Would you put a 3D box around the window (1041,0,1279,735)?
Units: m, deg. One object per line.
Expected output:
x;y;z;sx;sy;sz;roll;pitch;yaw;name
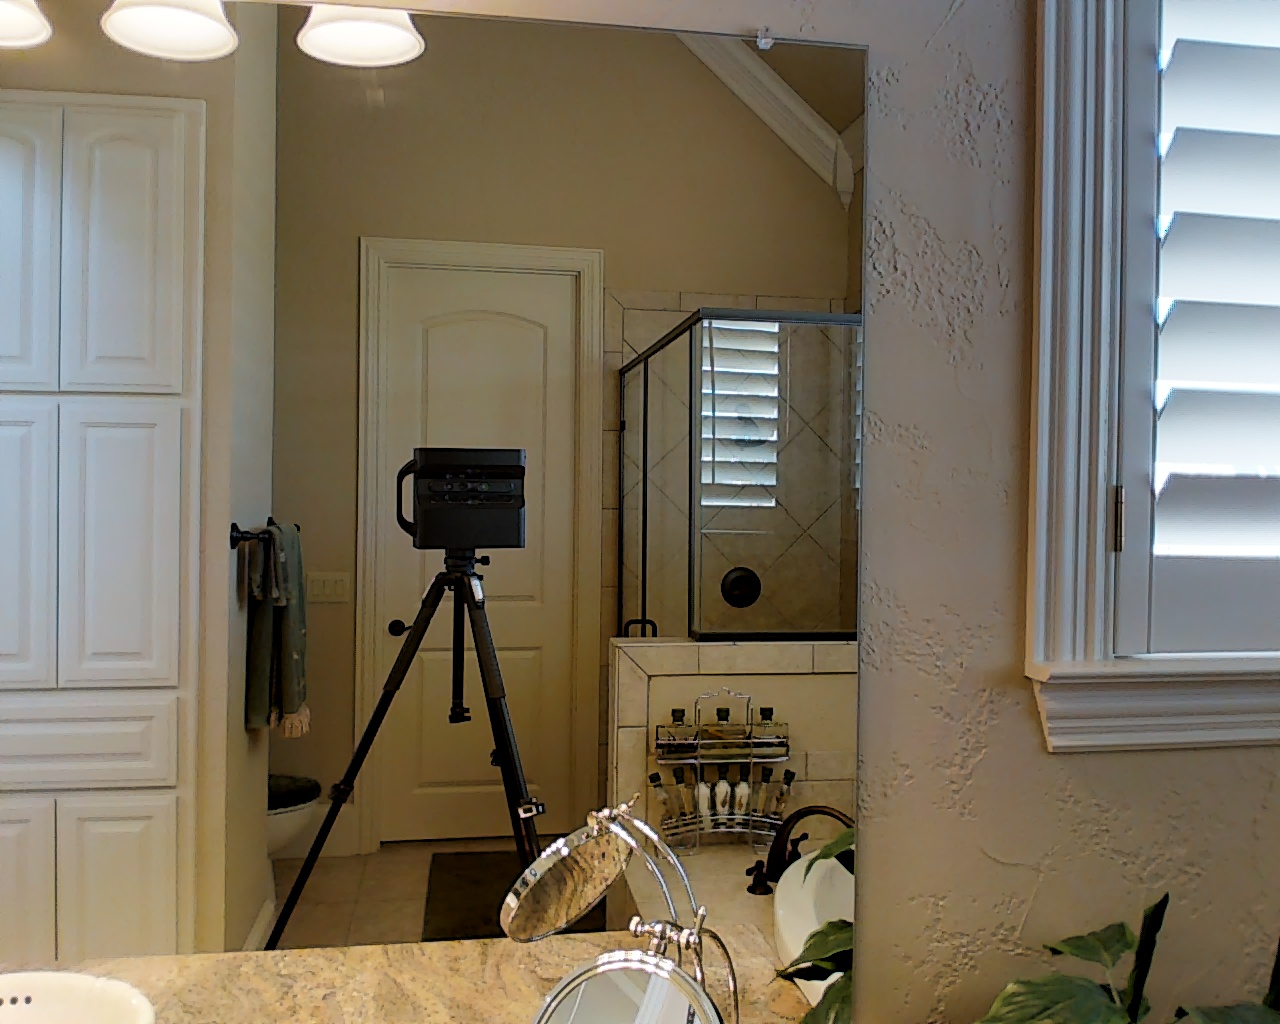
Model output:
0.970;-0.380;1.320;0.960;1.280;0.070;1;0;-9;window
